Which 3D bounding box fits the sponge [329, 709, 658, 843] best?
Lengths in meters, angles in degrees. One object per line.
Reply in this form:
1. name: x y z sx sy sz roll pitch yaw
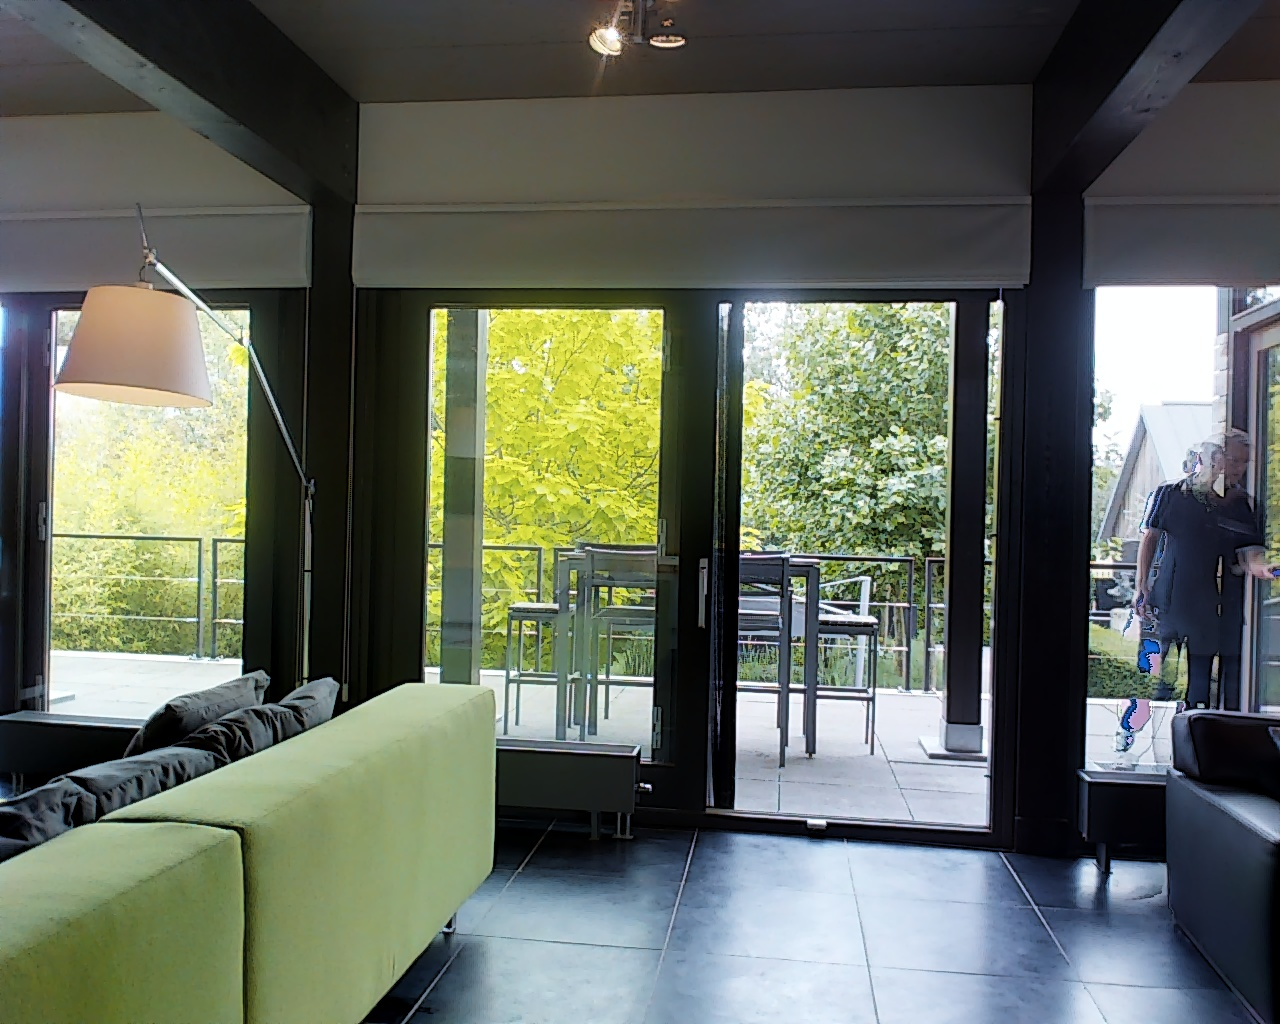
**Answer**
1. sponge: -0.600 1.090 4.510 1.300 0.390 0.370 2 0 8
